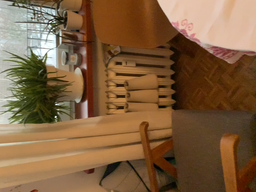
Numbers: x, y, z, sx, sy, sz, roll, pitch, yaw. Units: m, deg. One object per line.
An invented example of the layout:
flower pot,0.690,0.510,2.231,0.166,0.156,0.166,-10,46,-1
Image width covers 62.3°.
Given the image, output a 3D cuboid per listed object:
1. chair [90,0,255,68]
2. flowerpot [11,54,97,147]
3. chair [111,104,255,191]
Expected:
chair,0.260,-0.520,1.320,0.540,0.810,0.460,-32,63,56
flowerpot,-0.480,0.040,1.340,0.320,0.450,0.480,-15,77,59
chair,0.390,0.430,1.120,0.500,0.800,0.750,-7,84,59
